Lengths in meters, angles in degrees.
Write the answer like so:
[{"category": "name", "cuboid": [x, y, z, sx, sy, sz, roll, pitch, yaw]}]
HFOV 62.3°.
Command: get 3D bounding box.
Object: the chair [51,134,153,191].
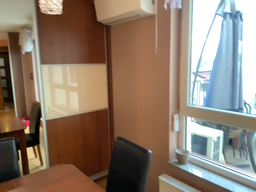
[{"category": "chair", "cuboid": [-0.170, 0.860, 1.550, 0.530, 0.960, 0.470, -9, 13, -39]}]
